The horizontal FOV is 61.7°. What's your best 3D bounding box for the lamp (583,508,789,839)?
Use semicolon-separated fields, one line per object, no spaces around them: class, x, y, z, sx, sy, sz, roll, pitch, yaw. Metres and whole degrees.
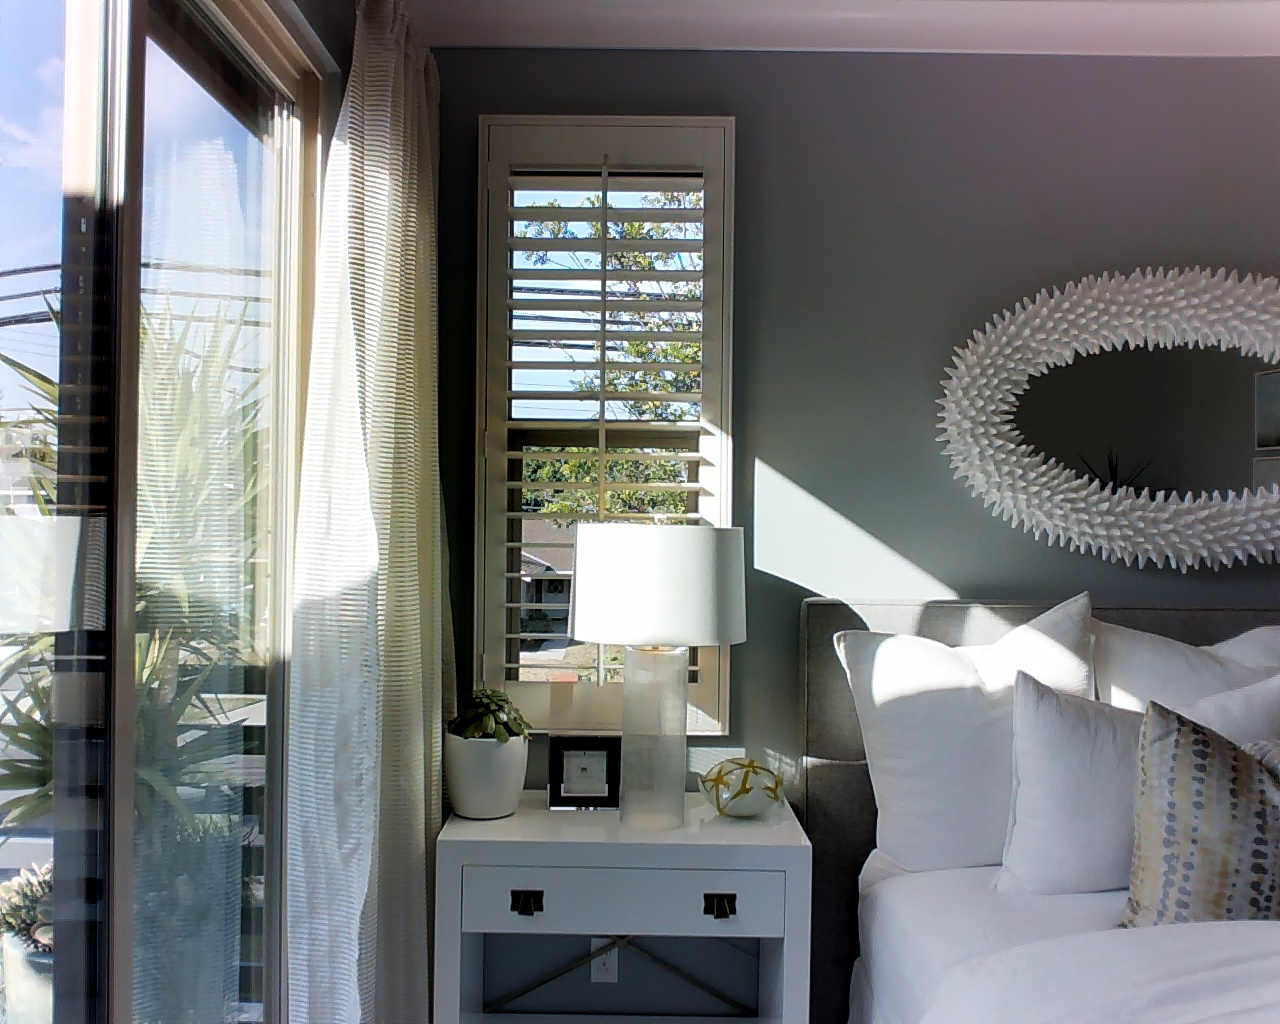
lamp;0.090;0.340;2.430;0.420;0.690;0.350;0;-1;-5

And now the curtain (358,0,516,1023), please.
curtain;-0.430;0.160;2.380;0.220;2.591;0.610;0;-1;0
